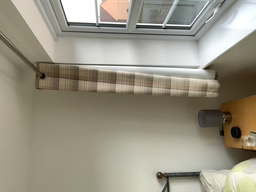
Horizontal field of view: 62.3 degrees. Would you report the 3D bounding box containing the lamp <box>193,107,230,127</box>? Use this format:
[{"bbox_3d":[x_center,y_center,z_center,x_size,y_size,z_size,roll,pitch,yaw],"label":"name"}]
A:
[{"bbox_3d":[0.760,0.200,1.960,0.230,0.230,0.170,132,138,-80],"label":"lamp"}]
